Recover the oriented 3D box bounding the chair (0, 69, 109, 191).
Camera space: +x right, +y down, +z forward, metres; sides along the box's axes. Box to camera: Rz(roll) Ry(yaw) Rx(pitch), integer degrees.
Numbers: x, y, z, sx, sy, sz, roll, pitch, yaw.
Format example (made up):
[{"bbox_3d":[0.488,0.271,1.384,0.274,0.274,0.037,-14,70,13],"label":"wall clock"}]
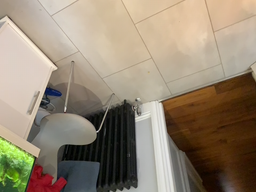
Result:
[{"bbox_3d":[-0.530,0.300,1.670,0.550,0.810,0.450,-21,132,20],"label":"chair"}]
